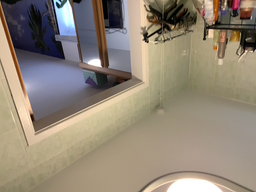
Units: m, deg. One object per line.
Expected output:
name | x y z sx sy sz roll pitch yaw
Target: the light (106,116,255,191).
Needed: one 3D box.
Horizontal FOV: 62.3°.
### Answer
light | 0.250 0.390 0.870 0.520 0.400 0.380 8 -152 24
